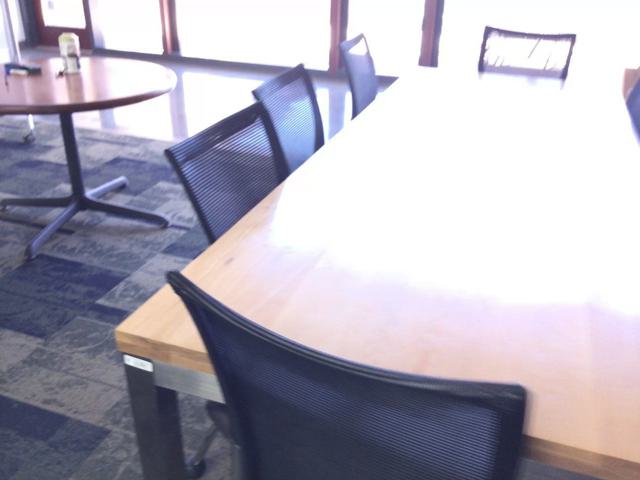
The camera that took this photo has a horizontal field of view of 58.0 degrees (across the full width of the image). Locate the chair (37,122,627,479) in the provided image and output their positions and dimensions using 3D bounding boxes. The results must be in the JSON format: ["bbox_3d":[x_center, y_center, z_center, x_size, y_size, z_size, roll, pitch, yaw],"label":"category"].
[{"bbox_3d":[0.090,0.390,1.030,0.590,0.990,0.640,10,30,20],"label":"chair"}]
